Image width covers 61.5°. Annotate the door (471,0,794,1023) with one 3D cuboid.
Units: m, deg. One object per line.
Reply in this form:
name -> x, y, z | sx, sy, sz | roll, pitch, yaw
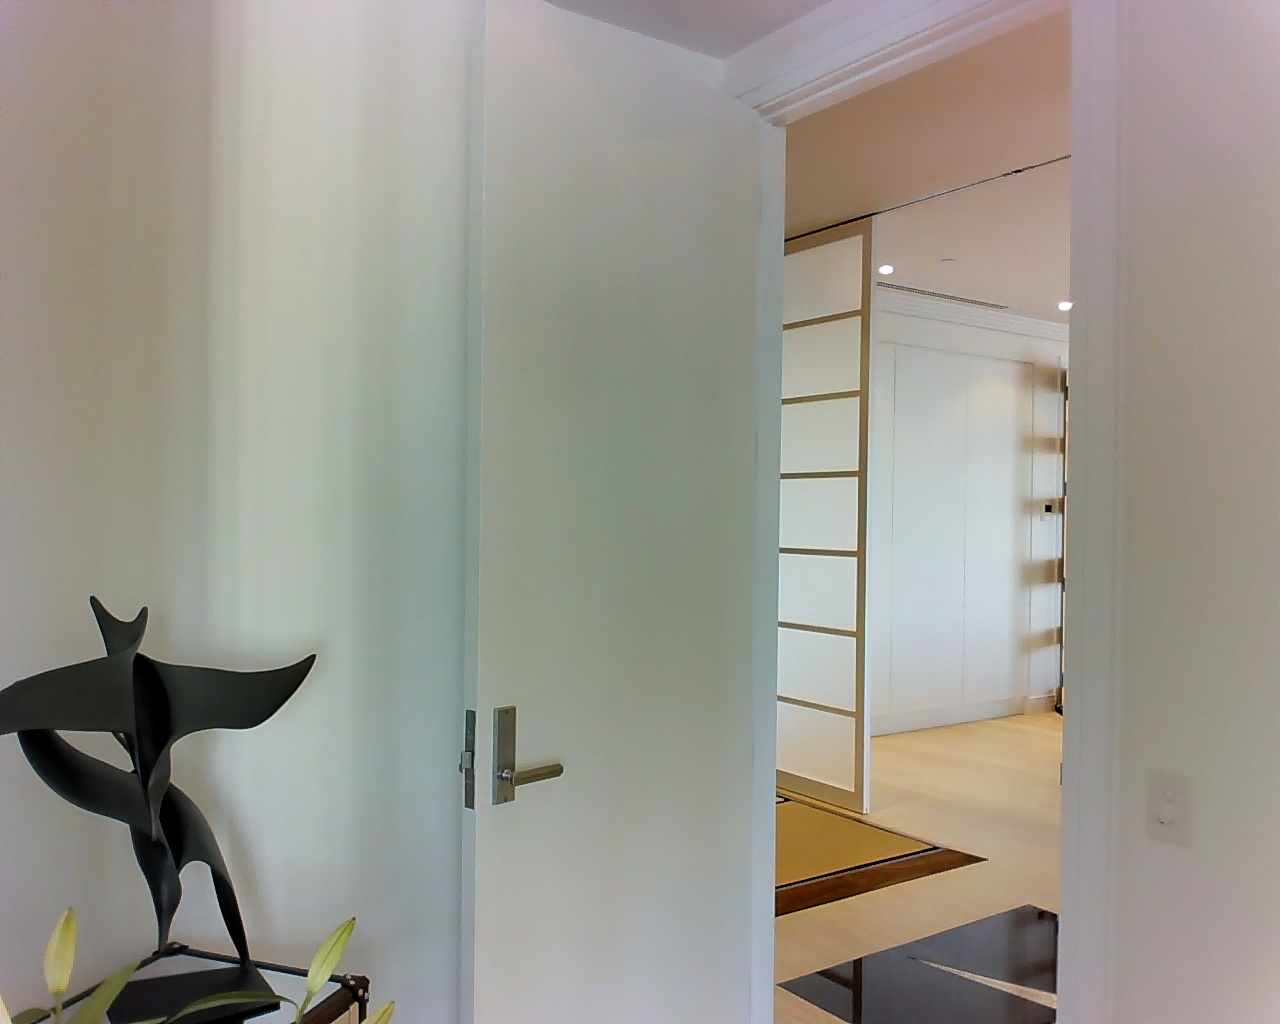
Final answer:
door -> 0.030, 0.150, 2.240 | 0.080, 2.381, 0.910 | 1, 0, 40
